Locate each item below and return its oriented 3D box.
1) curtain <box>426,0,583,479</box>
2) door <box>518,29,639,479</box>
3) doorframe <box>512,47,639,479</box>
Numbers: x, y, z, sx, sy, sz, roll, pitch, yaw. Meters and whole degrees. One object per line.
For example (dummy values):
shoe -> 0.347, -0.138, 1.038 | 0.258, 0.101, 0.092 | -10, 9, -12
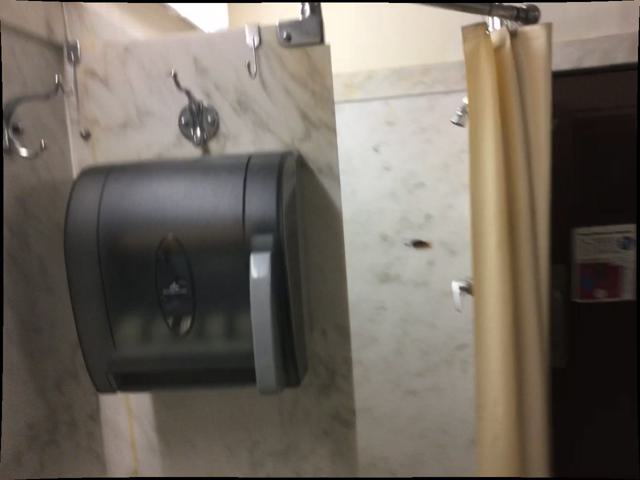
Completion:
curtain -> 0.470, 0.380, 1.400 | 0.240, 1.912, 0.190 | -8, 7, -24
door -> 1.229, 0.310, 2.030 | 0.909, 2.032, 0.160 | -4, 7, 5
doorframe -> 1.169, 0.340, 2.070 | 0.829, 2.002, 0.080 | -4, 7, 5
